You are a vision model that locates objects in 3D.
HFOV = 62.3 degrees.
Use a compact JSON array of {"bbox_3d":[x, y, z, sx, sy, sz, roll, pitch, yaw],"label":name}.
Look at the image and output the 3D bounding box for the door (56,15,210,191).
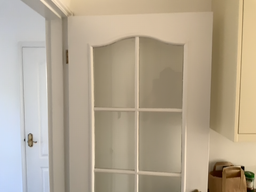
[{"bbox_3d":[0.010,0.490,1.190,0.800,1.810,0.050,1,4,5],"label":"door"}]
